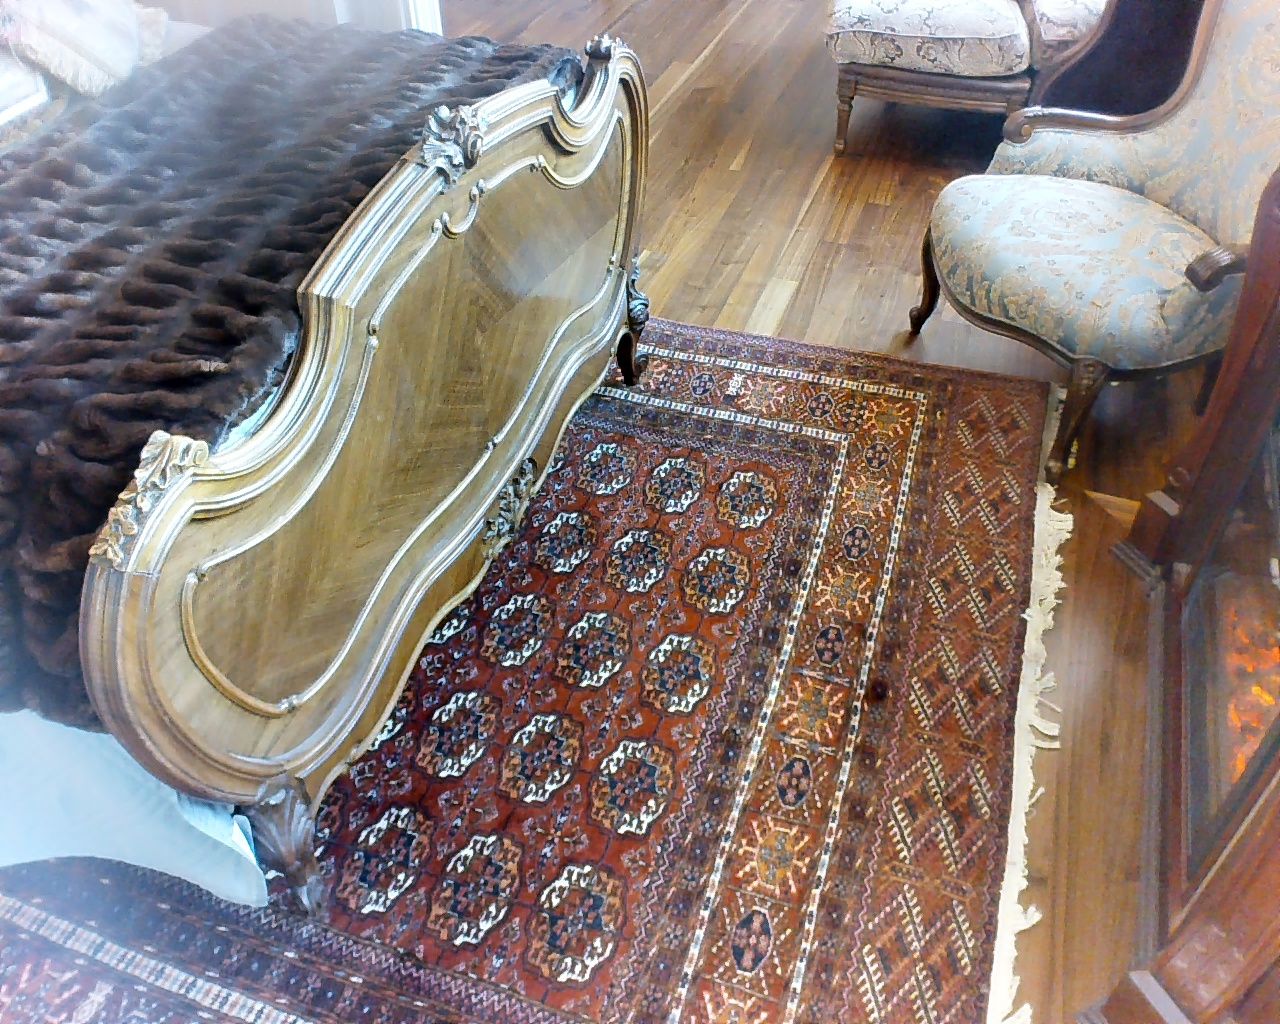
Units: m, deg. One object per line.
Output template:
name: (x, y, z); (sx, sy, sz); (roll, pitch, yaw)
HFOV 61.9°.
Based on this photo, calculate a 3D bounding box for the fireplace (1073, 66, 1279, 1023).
fireplace: (0.910, 0.030, 1.340); (0.380, 1.070, 1.130); (13, 44, 15)
